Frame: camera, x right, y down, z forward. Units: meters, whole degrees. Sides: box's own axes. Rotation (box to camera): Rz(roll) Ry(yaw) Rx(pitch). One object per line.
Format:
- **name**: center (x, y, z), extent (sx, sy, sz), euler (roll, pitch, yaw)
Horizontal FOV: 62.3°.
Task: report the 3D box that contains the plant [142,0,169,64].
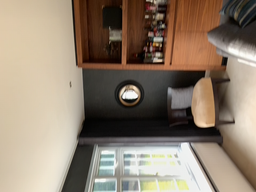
- **plant**: center (0.420, -1.030, 3.360), extent (0.300, 0.300, 0.970), euler (-96, 7, -67)
